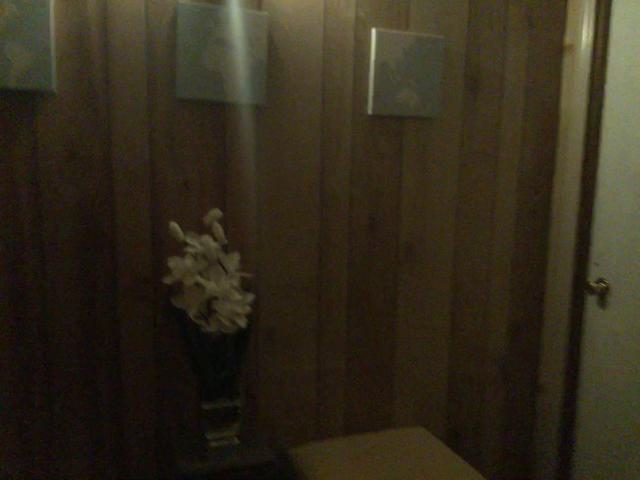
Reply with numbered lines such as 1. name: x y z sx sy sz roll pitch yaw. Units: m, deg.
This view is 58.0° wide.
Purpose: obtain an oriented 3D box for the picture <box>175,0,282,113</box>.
1. picture: -0.250 -0.500 1.600 0.280 0.280 0.050 -3 5 -20

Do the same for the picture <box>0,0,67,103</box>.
1. picture: -0.750 -0.480 1.390 0.240 0.280 0.050 -3 5 -20

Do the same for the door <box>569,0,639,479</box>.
1. door: 1.050 0.210 1.660 0.050 2.010 0.810 -3 5 -20

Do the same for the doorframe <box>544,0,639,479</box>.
1. doorframe: 1.020 0.180 1.630 0.130 2.090 0.920 -3 5 -20

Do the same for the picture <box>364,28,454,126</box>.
1. picture: 0.280 -0.500 1.800 0.290 0.280 0.040 -3 5 -20
